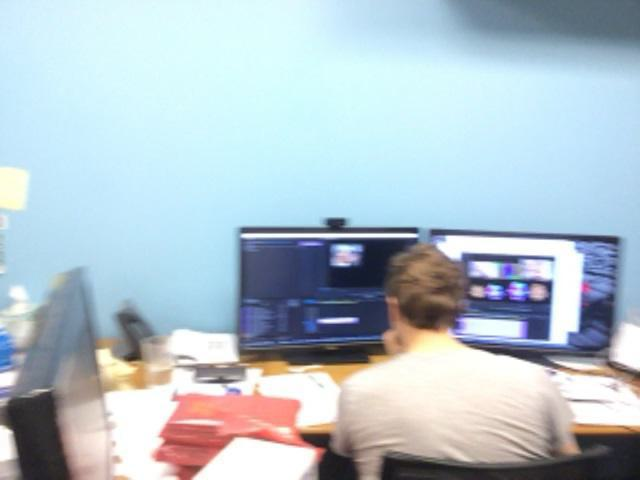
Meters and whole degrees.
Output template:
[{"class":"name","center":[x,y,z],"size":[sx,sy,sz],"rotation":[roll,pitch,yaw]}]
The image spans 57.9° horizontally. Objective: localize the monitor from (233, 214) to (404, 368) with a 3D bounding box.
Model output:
[{"class":"monitor","center":[-0.010,0.160,1.990],"size":[0.550,0.470,0.180],"rotation":[-2,10,-13]}]

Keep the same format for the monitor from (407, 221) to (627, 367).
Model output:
[{"class":"monitor","center":[0.670,0.180,2.060],"size":[0.680,0.460,0.220],"rotation":[1,10,4]}]

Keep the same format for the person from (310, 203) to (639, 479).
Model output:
[{"class":"person","center":[0.340,0.530,1.520],"size":[0.660,1.170,0.830],"rotation":[-1,10,-6]}]
